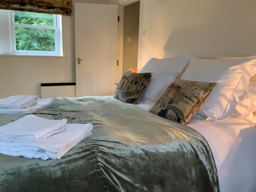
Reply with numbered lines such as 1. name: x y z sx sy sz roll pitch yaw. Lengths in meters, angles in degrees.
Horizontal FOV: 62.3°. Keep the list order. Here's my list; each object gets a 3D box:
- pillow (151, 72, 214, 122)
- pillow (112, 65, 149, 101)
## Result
1. pillow: 0.400 -0.010 1.600 0.120 0.340 0.310 49 -17 -30
2. pillow: 0.020 -0.140 2.150 0.140 0.290 0.320 16 1 -36
